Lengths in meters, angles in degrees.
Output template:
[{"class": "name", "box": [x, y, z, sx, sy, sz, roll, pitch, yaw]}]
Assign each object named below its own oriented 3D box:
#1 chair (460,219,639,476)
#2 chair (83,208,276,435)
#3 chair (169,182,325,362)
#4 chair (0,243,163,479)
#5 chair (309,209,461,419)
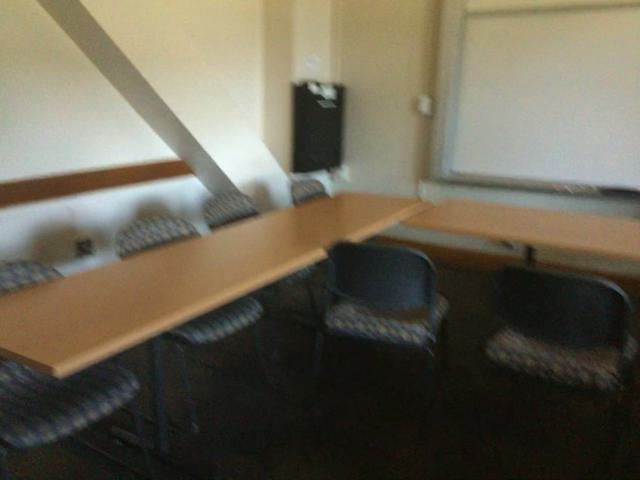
[{"class": "chair", "box": [0.860, 0.340, 2.100, 0.510, 0.690, 0.480, 10, 18, 31]}, {"class": "chair", "box": [-0.560, 0.290, 2.410, 0.550, 0.710, 0.500, 10, 18, 31]}, {"class": "chair", "box": [-0.350, 0.120, 2.960, 0.480, 0.710, 0.610, 11, 19, 33]}, {"class": "chair", "box": [-0.890, 0.440, 1.800, 0.540, 0.690, 0.500, 10, 18, 31]}, {"class": "chair", "box": [0.280, 0.270, 2.420, 0.520, 0.680, 0.500, 5, 16, 16]}]
